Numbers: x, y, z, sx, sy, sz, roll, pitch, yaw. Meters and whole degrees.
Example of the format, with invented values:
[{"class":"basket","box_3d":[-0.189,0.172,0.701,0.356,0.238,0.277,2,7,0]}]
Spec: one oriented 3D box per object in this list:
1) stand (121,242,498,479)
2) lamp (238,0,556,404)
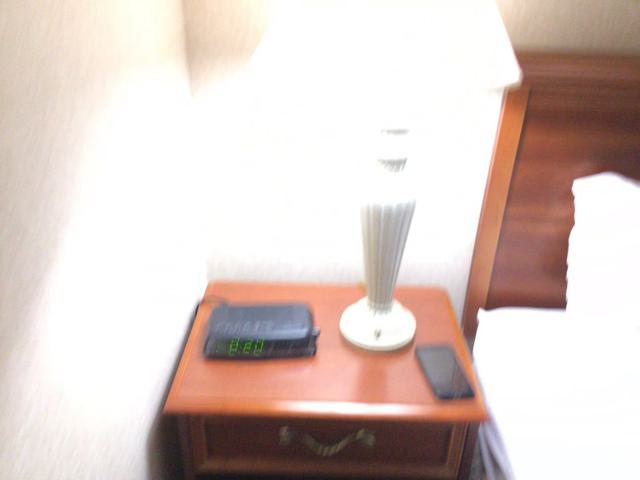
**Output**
[{"class":"stand","box_3d":[0.000,0.420,1.290,0.600,0.670,0.490,-1,27,3]},{"class":"lamp","box_3d":[0.110,-0.160,1.020,0.390,0.790,0.420,-1,27,3]}]
